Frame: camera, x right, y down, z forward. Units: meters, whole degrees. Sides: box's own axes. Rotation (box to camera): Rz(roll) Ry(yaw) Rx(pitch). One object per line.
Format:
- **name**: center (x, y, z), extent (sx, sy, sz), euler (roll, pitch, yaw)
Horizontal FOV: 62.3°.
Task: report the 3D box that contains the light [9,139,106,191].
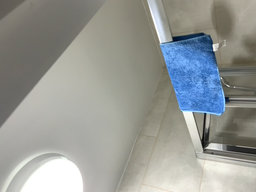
- **light**: center (-0.250, 0.370, 0.750), extent (0.330, 0.090, 0.320), euler (51, 49, -48)
